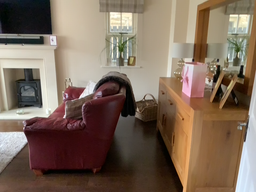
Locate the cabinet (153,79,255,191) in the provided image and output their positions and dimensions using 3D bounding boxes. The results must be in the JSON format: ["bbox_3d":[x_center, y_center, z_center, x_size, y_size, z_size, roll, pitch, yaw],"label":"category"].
[{"bbox_3d":[0.710,0.330,2.550,0.520,0.790,1.660,0,15,-3],"label":"cabinet"}]

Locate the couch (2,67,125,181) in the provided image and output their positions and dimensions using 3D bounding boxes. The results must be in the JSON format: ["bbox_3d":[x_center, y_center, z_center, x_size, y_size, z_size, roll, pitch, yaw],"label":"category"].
[{"bbox_3d":[-0.590,0.190,2.780,1.080,0.910,1.640,1,15,-1],"label":"couch"}]
